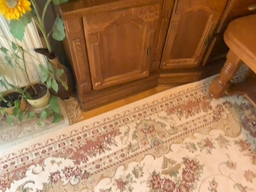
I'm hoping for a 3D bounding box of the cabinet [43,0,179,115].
[{"bbox_3d":[-0.140,-0.380,1.420,0.630,0.770,0.500,-19,56,-17],"label":"cabinet"}]
